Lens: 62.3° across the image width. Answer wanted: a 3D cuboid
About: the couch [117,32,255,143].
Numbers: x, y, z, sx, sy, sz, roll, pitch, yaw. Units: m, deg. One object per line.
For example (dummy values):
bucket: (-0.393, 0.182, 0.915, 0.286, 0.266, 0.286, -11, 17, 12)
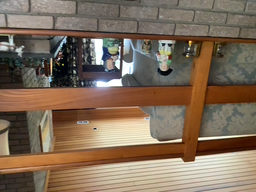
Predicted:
couch: (0.980, -0.190, 2.240, 2.010, 0.780, 1.100, -1, -161, -12)
